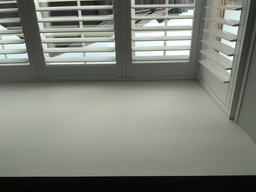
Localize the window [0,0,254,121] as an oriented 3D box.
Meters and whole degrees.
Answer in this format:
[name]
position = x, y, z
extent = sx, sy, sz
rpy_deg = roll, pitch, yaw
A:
[window]
position = -0.260, -0.620, 1.100
extent = 1.760, 1.600, 0.210
rpy_deg = 0, -156, 1
